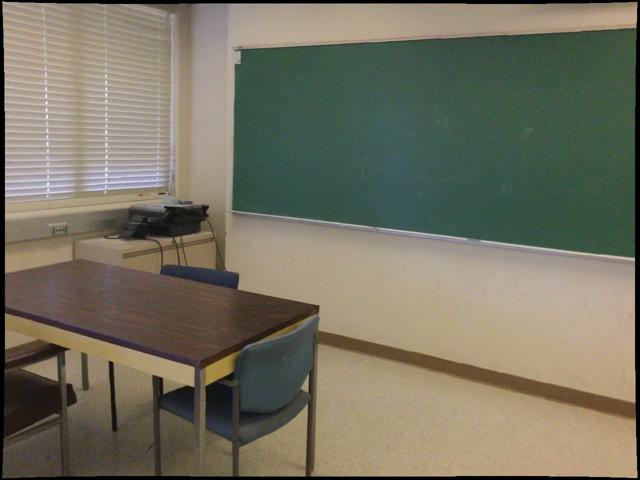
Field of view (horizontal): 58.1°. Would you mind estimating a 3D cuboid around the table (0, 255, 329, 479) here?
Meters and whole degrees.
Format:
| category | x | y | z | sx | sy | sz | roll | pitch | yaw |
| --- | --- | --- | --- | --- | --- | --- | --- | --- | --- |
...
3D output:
| category | x | y | z | sx | sy | sz | roll | pitch | yaw |
| --- | --- | --- | --- | --- | --- | --- | --- | --- | --- |
| table | -0.858 | 0.441 | 2.520 | 1.577 | 0.401 | 0.830 | 9 | 12 | 29 |
